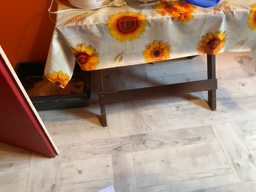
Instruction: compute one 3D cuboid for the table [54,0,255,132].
[{"bbox_3d":[0.170,-0.300,1.190,0.920,0.670,0.630,-7,50,-5],"label":"table"}]
